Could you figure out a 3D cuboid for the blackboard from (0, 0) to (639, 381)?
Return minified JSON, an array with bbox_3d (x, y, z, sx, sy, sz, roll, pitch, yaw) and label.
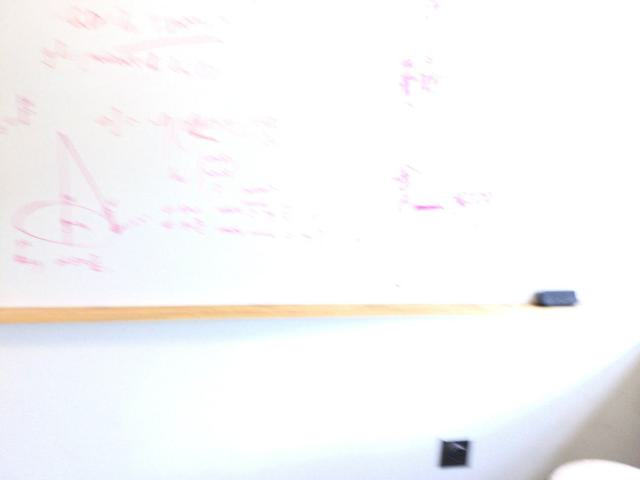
[{"bbox_3d":[0.230,-0.370,1.490,2.310,1.420,0.200,5,12,-12],"label":"blackboard"}]
